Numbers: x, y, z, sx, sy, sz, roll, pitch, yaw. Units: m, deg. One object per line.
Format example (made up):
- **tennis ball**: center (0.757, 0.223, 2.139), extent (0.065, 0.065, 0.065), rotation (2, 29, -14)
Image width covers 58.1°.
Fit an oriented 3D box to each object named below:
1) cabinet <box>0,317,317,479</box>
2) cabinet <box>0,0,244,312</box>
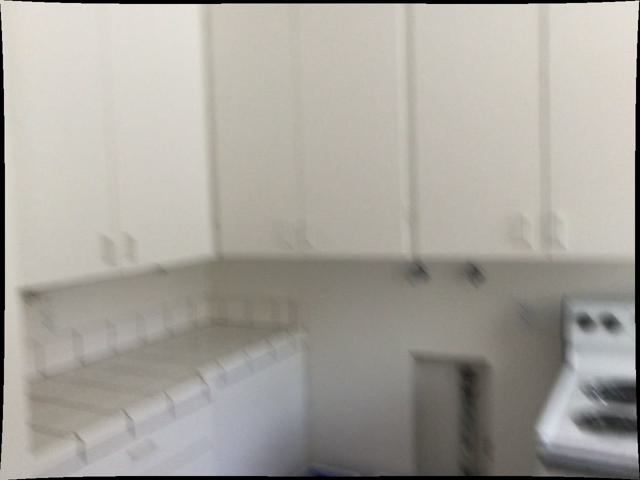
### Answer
- **cabinet**: center (-0.619, 0.922, 2.120), extent (0.629, 0.952, 1.330), rotation (0, 6, 29)
- **cabinet**: center (-0.679, -0.441, 1.820), extent (0.270, 1.122, 0.990), rotation (0, 6, 29)
